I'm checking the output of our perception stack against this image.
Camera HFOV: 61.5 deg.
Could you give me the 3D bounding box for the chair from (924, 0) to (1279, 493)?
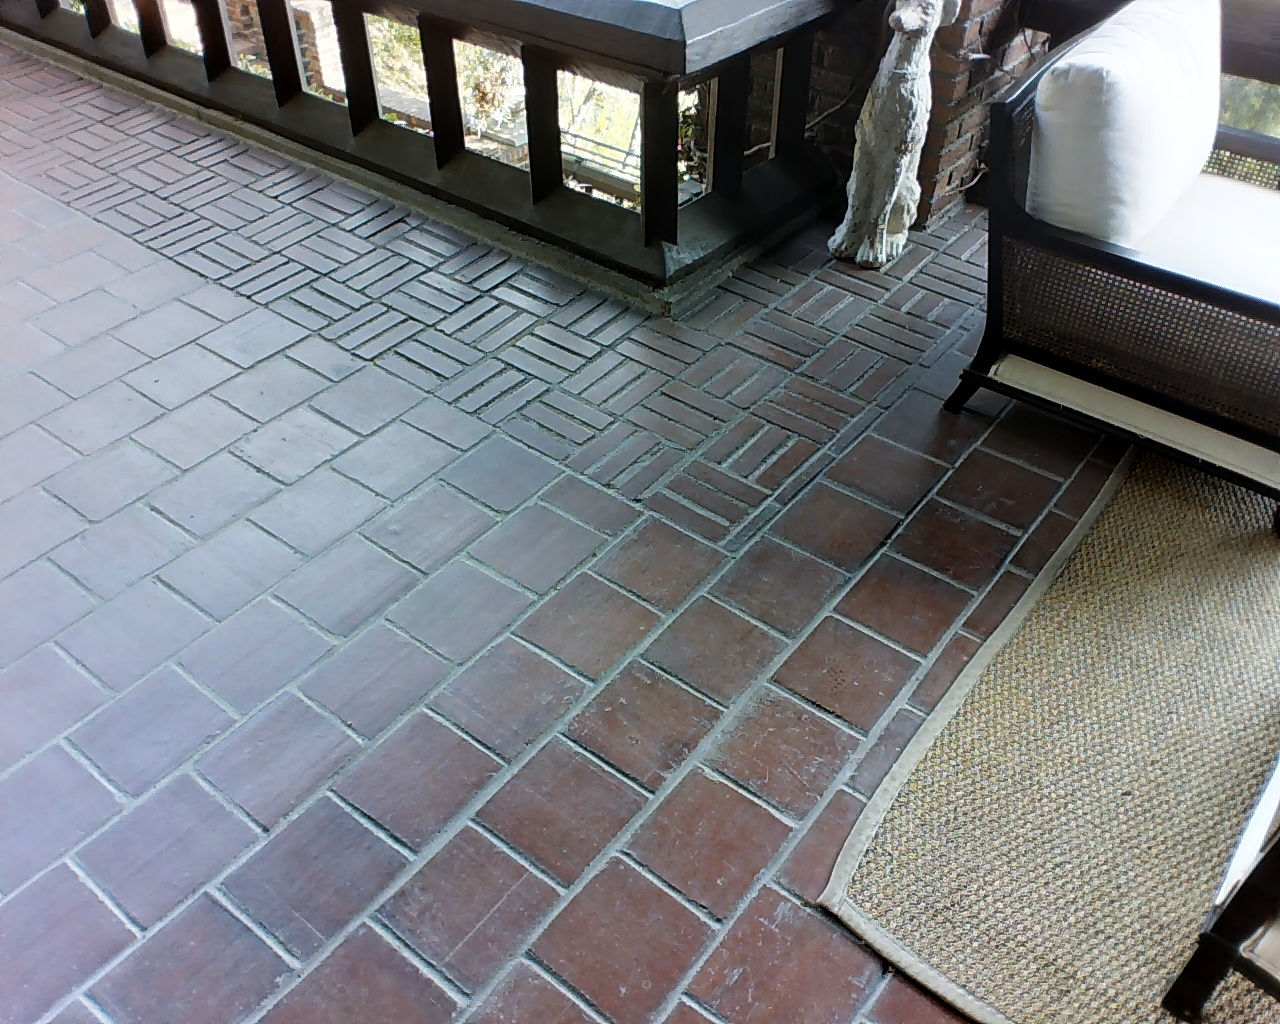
[{"bbox_3d":[1.270,-0.610,2.350,1.010,0.790,0.510,28,49,27],"label":"chair"}]
